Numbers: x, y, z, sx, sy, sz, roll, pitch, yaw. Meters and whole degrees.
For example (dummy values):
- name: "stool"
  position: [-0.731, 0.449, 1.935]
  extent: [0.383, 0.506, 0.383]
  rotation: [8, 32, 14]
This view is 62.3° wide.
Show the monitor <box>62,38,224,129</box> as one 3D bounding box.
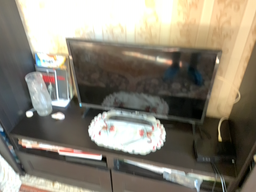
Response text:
- name: "monitor"
  position: [0.050, -0.060, 1.150]
  extent: [0.770, 0.440, 0.050]
  rotation: [9, 39, 11]
